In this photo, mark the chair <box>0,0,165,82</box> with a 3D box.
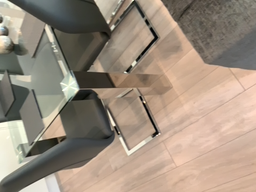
[{"bbox_3d":[-0.340,-0.420,1.340,0.550,1.010,0.410,-44,64,36],"label":"chair"}]

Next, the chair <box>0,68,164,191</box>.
[{"bbox_3d":[-0.350,0.200,1.370,0.460,1.030,0.550,-41,66,37],"label":"chair"}]

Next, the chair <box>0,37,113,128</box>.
[{"bbox_3d":[-0.730,-0.090,1.730,0.550,1.010,0.410,-43,65,36],"label":"chair"}]
